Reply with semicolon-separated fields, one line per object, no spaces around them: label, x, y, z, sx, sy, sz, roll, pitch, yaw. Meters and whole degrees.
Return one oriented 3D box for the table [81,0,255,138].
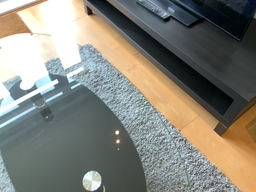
table;0.290;-0.510;1.490;0.600;0.350;1.510;-31;60;-20
